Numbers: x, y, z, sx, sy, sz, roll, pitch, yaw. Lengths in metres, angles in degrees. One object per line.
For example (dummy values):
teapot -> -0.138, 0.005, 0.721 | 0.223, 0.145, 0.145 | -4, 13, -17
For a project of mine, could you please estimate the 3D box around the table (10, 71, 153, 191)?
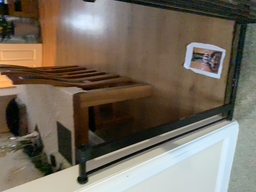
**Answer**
table -> -0.710, 0.200, 2.530 | 2.020, 0.780, 0.860 | 11, 106, 50
